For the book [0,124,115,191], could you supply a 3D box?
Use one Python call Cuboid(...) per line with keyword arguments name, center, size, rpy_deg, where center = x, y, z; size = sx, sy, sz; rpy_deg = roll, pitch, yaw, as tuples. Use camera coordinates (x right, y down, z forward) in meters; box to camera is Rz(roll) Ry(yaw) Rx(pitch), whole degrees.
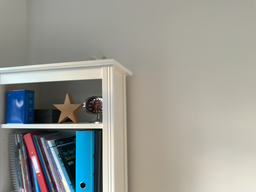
Cuboid(name="book", center=(-0.370, 0.340, 1.110), size=(0.530, 0.360, 0.290), rpy_deg=(-2, -5, 14))
